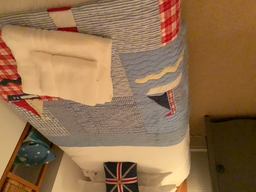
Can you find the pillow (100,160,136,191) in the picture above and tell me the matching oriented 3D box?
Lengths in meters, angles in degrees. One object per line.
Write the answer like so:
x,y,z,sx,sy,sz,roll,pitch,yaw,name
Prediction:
-0.080,0.670,1.690,0.240,0.270,0.110,2,171,19,pillow
